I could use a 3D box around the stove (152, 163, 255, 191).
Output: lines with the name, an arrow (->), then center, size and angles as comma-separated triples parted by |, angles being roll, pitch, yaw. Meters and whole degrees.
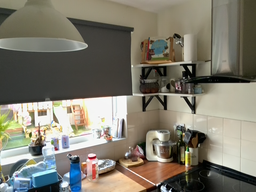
stove -> 0.630, 0.720, 1.570 | 0.640, 0.090, 0.640 | -5, 6, -36
